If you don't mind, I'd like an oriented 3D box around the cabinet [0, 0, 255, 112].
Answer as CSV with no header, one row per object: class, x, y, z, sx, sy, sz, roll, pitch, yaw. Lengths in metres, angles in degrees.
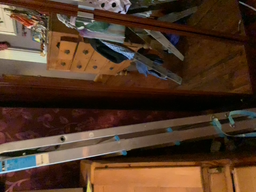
cabinet,-0.240,-0.700,1.190,0.510,2.330,1.450,154,118,-66
